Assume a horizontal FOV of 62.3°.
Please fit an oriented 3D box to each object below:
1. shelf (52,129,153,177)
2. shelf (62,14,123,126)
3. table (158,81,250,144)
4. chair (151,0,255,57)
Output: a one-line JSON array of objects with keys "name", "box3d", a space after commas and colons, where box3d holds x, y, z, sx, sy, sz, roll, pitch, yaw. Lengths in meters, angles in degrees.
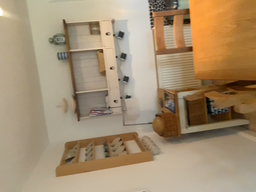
[{"name": "shelf", "box3d": [-0.270, 0.550, 2.230, 0.810, 0.870, 0.060, -148, 51, -78]}, {"name": "shelf", "box3d": [-0.430, -0.320, 2.670, 0.190, 0.590, 1.300, -152, 55, -79]}, {"name": "table", "box3d": [0.890, 0.150, 2.600, 0.630, 0.840, 0.550, -145, 49, -78]}, {"name": "chair", "box3d": [0.800, -0.670, 1.940, 0.610, 1.000, 0.500, -145, 49, -78]}]
